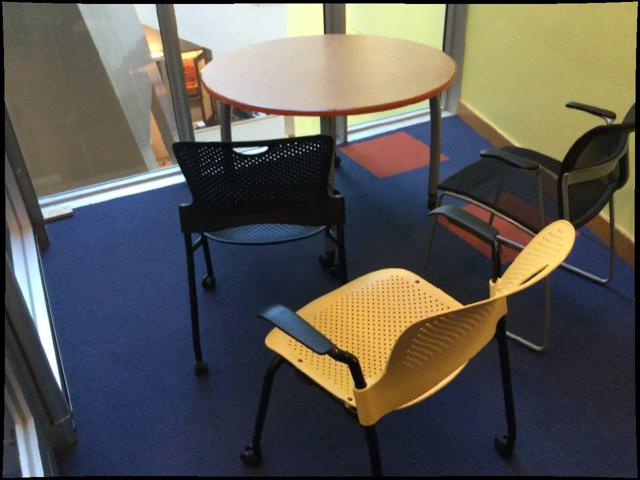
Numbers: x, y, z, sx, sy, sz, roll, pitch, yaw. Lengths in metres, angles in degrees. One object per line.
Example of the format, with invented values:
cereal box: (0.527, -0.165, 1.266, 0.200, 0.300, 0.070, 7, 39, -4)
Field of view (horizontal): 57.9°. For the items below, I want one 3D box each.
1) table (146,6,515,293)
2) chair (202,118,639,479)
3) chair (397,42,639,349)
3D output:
table: (0.060, -0.521, 2.610, 1.070, 0.680, 1.120, 27, 44, 36)
chair: (0.190, 0.250, 1.370, 0.630, 0.791, 0.590, -22, 39, -26)
chair: (0.729, -0.200, 1.980, 0.650, 0.690, 0.620, -29, 43, -34)
